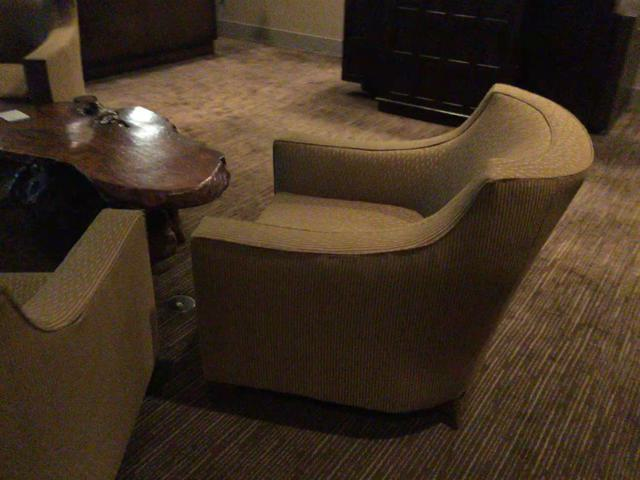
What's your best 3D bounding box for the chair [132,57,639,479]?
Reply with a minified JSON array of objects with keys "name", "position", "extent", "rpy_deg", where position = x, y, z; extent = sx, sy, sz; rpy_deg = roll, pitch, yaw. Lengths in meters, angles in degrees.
[{"name":"chair","position":[0.190,-0.010,1.820],"extent":[1.070,0.830,0.940],"rpy_deg":[8,31,10]}]
